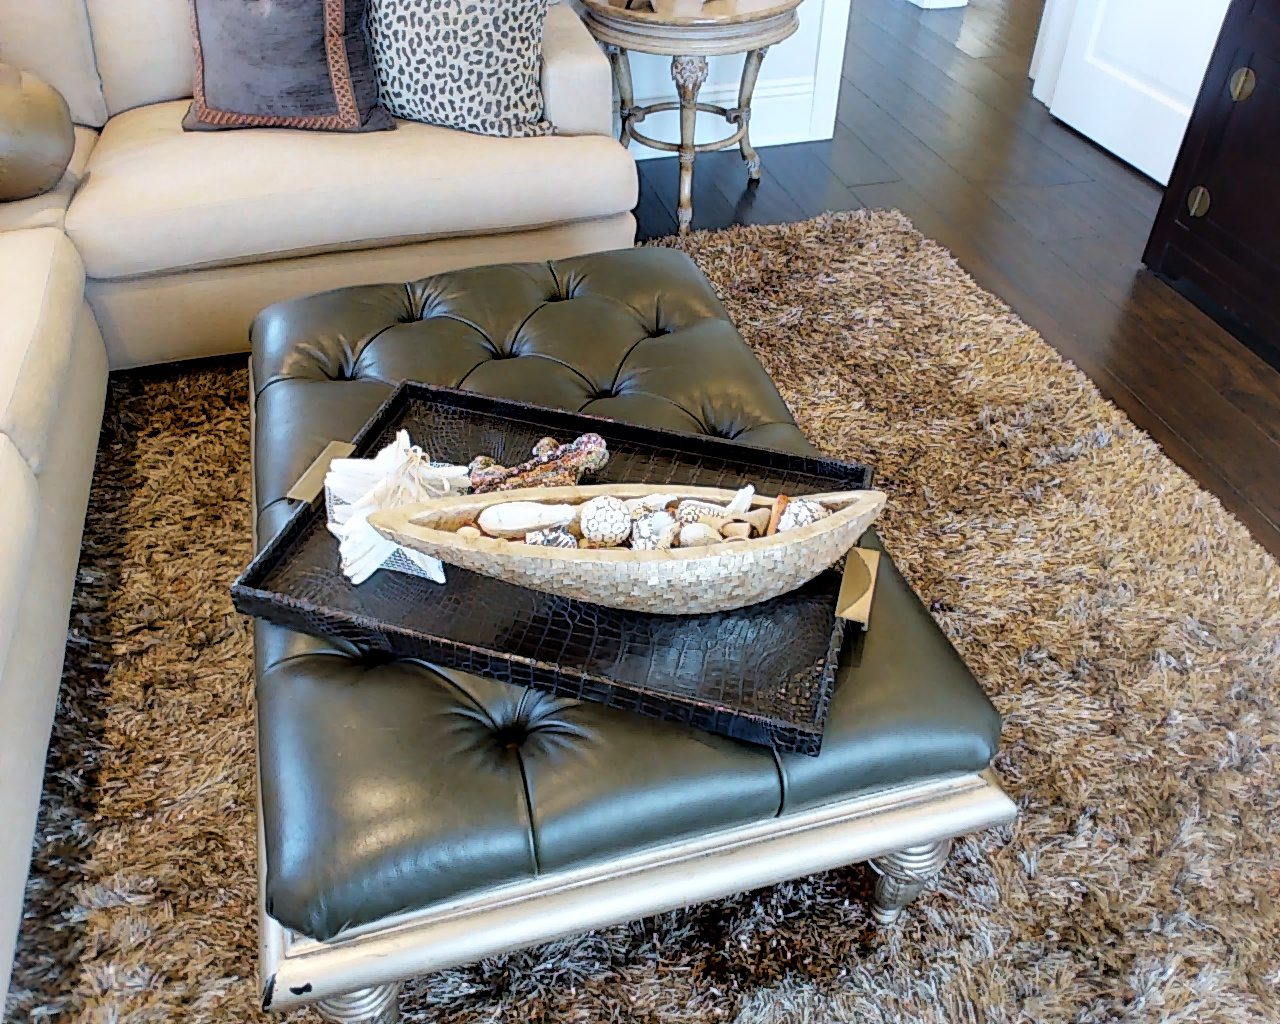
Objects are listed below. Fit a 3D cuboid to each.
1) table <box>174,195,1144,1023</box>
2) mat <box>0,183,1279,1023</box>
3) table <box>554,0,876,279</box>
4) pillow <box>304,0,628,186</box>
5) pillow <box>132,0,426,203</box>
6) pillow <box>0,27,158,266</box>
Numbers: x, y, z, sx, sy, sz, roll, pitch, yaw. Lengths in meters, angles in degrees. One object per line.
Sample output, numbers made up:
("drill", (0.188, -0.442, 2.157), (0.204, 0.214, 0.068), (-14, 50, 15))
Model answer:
("table", (-0.120, 0.100, 1.720), (0.980, 0.560, 1.370), (-10, 42, -12))
("mat", (0.170, 0.240, 2.000), (2.390, 0.090, 3.280), (-10, 42, -12))
("table", (0.180, -1.210, 3.240), (0.730, 0.660, 0.690), (-10, 42, -12))
("pillow", (-0.390, -1.180, 2.560), (0.630, 0.570, 0.460), (9, 42, 10))
("pillow", (-0.830, -1.120, 2.510), (0.530, 0.540, 0.320), (19, 34, -6))
("pillow", (-1.350, -0.800, 2.320), (0.360, 0.320, 0.360), (30, 49, 29))
